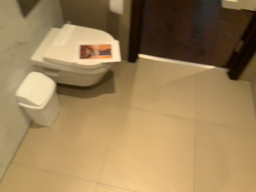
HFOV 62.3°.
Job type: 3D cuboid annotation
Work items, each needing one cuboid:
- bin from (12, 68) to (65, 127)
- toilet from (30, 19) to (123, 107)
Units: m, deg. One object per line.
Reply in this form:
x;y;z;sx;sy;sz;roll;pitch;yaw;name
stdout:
-0.600;0.020;1.480;0.180;0.360;0.210;11;53;4;bin
-0.350;-0.250;1.660;0.540;0.450;0.390;10;53;4;toilet
